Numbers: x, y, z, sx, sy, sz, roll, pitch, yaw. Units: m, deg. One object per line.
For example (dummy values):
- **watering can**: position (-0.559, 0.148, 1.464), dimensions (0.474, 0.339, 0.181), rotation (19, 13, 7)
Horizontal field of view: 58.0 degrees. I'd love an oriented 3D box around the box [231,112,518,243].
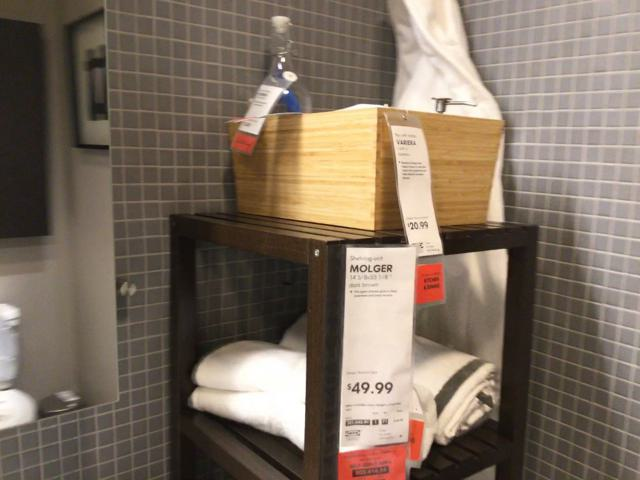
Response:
- **box**: position (0.060, -0.090, 0.830), dimensions (0.240, 0.140, 0.340), rotation (-2, 8, -36)
